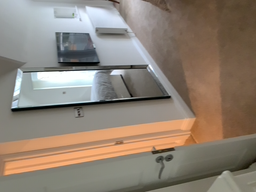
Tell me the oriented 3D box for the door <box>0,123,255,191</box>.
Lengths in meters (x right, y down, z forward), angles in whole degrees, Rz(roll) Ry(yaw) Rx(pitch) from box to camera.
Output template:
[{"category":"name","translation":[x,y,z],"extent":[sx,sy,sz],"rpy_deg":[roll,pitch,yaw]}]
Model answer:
[{"category":"door","translation":[0.030,0.650,1.470],"extent":[0.070,2.080,0.900],"rpy_deg":[-118,30,-51]}]
